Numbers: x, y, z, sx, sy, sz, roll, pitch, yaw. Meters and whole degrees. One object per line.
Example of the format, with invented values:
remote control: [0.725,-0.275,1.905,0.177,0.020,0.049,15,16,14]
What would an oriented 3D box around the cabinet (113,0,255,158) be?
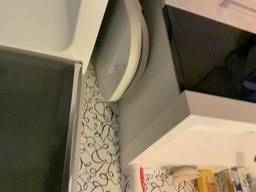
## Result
cabinet: [0.400,-0.240,0.950,0.830,0.890,0.410,9,145,-19]

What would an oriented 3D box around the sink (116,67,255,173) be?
sink: [0.420,0.150,0.710,0.830,0.100,0.410,9,145,-19]
